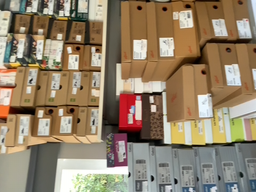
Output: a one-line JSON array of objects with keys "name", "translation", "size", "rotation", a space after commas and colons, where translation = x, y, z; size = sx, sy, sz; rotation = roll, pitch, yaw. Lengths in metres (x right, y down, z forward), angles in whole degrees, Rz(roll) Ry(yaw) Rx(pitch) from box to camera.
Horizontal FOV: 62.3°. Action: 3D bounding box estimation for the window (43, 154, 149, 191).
[{"name": "window", "translation": [-0.230, 0.890, 1.540], "size": [0.300, 0.730, 0.860], "rotation": [103, 169, -71]}]
